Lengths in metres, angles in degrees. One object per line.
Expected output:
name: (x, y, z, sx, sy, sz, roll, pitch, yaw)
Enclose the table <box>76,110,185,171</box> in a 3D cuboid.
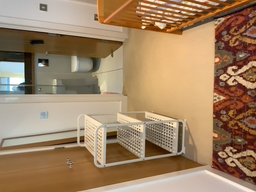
table: (-0.020, 0.380, 2.180, 0.800, 0.850, 0.360, 6, 96, 63)
